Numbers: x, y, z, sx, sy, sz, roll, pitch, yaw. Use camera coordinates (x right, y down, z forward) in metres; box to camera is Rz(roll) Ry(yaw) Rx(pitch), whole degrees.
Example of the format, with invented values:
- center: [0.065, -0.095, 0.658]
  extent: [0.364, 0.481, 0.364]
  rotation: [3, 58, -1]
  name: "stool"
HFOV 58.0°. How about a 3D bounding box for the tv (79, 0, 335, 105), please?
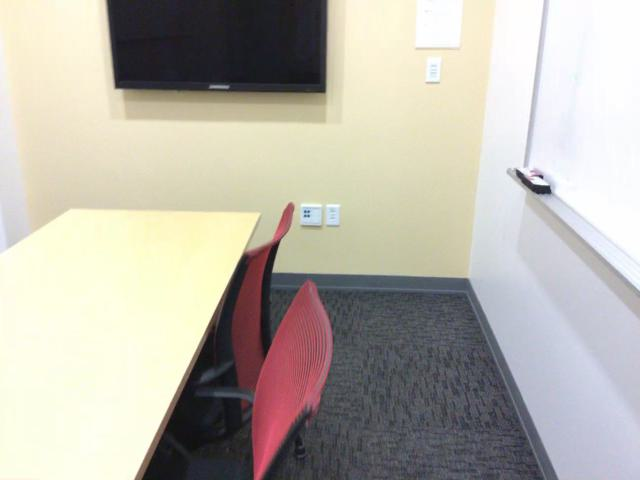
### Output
- center: [-0.550, -1.070, 2.800]
  extent: [1.200, 0.700, 0.270]
  rotation: [8, 18, 12]
  name: "tv"
